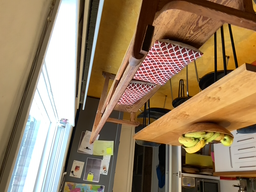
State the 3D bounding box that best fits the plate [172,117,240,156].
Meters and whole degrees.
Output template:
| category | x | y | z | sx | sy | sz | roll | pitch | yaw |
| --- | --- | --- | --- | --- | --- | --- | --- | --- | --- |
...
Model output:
| category | x | y | z | sx | sy | sz | roll | pitch | yaw |
| --- | --- | --- | --- | --- | --- | --- | --- | --- | --- |
| plate | 0.530 | 0.300 | 1.510 | 0.310 | 0.180 | 0.340 | 10 | 158 | -13 |
